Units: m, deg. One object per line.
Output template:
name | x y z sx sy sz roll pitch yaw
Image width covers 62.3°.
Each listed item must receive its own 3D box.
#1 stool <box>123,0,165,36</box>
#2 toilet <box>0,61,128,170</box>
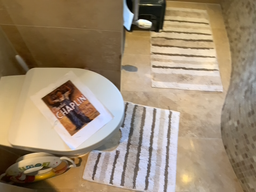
stool | 0.120 -0.710 1.650 0.280 0.270 0.350 5 63 -1
toilet | -0.300 0.130 1.080 0.570 0.450 0.390 3 63 -1
